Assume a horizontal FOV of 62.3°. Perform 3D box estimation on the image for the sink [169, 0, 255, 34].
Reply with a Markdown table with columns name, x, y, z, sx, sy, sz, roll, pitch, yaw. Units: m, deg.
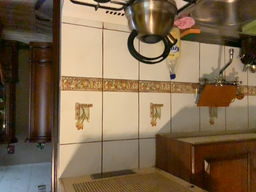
| name | x | y | z | sx | sy | sz | roll | pitch | yaw |
| --- | --- | --- | --- | --- | --- | --- | --- | --- | --- |
| sink | 0.480 | -0.450 | 0.970 | 0.420 | 0.160 | 0.410 | 1 | 178 | -23 |
